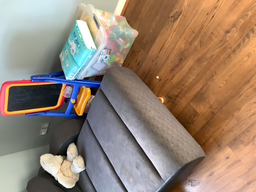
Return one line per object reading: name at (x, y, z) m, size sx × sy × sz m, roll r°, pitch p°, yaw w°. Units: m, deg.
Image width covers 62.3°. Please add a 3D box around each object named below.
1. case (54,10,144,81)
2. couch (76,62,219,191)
case at (-0.270, -0.410, 1.880) m, size 0.530 × 0.550 × 0.310 m, roll -37°, pitch 68°, yaw 47°
couch at (0.050, 0.330, 1.770) m, size 0.950 × 0.440 × 0.800 m, roll 53°, pitch 133°, yaw 30°
